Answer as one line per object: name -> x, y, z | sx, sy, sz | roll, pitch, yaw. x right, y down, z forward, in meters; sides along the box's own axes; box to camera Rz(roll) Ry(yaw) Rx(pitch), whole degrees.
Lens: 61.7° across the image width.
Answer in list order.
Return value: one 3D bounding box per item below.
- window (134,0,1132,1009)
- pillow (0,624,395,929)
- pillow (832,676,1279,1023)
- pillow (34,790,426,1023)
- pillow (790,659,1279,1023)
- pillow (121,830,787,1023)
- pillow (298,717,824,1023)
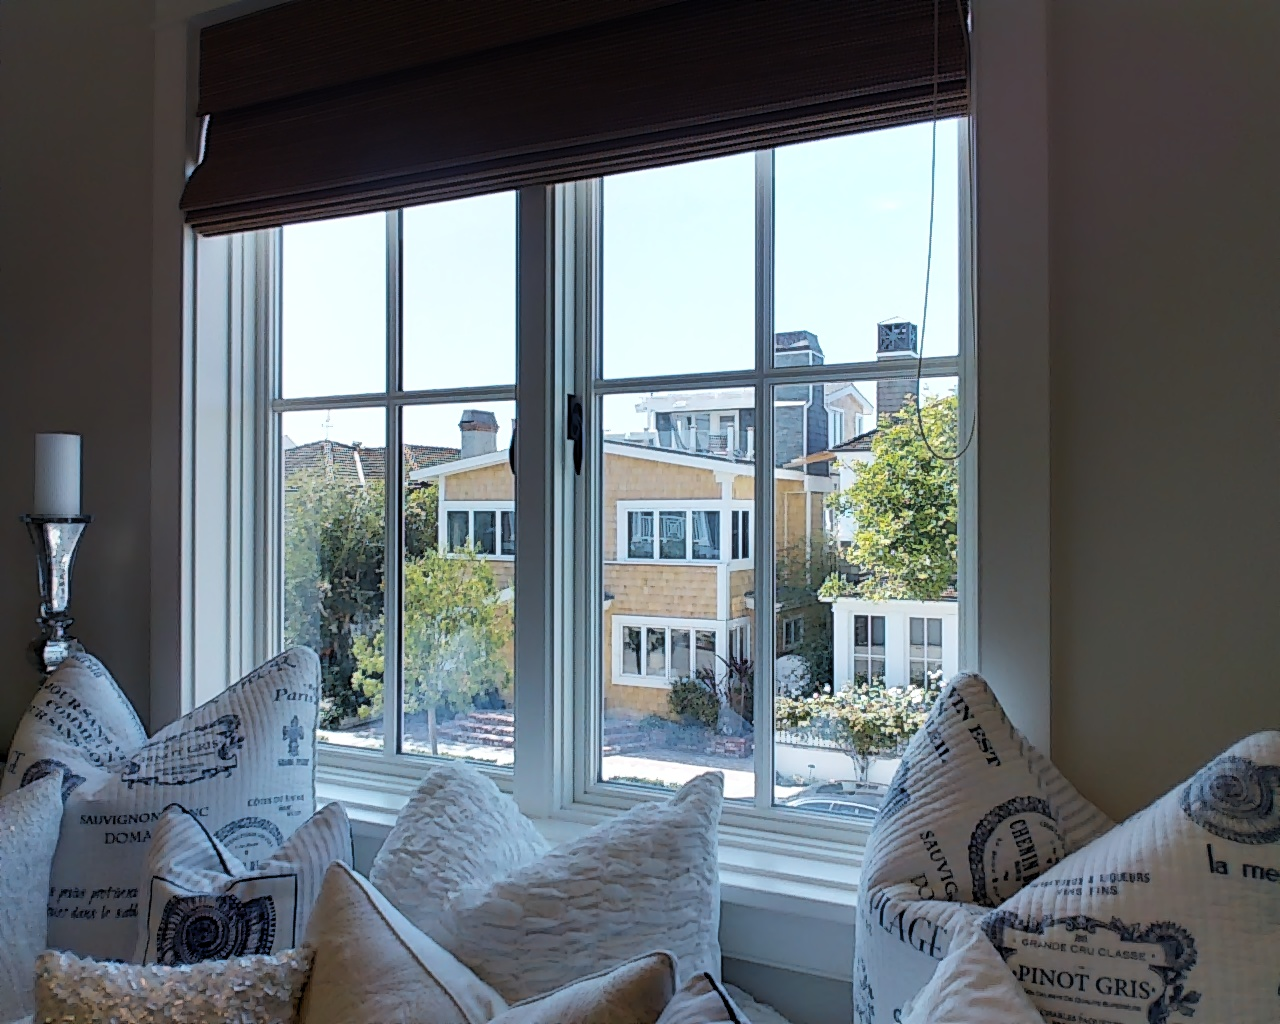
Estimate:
window -> -0.140, -0.290, 1.800 | 1.739, 1.751, 0.290 | 0, -1, 28
pillow -> -0.740, 0.390, 1.730 | 0.550, 0.370, 0.460 | 0, -1, 6
pillow -> 0.510, 0.480, 1.030 | 0.530, 0.550, 0.460 | 0, -1, 27
pillow -> -0.540, 0.550, 1.450 | 0.400, 0.250, 0.290 | 0, -1, 16
pillow -> 0.510, 0.360, 1.160 | 0.580, 0.320, 0.410 | 0, -1, 29
pillow -> -0.200, 0.590, 1.130 | 0.630, 0.340, 0.320 | 0, -1, 29
pillow -> -0.100, 0.510, 1.500 | 0.580, 0.320, 0.450 | 0, -1, 31
